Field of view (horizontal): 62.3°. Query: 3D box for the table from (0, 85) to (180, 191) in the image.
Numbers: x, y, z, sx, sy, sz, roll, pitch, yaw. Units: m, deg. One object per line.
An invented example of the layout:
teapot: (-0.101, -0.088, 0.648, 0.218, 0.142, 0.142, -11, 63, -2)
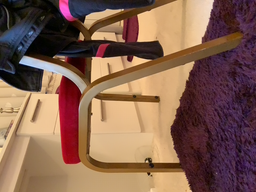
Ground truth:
table: (-0.220, 0.510, 1.090, 1.270, 0.790, 0.510, -103, 16, -52)
